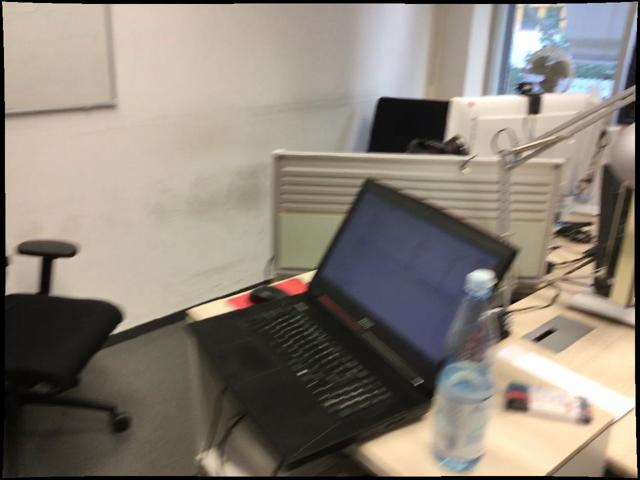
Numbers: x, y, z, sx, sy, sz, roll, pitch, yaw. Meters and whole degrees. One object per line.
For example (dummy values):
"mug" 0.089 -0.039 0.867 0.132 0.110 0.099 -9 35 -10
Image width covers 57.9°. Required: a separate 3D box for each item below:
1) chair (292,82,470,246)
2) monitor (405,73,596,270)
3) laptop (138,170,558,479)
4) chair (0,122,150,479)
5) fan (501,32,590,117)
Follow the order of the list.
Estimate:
"chair" 0.340 -0.460 3.140 0.670 0.651 0.770 13 25 27
"monitor" 0.599 -0.260 1.910 0.620 0.500 0.280 -20 29 -41
"laptop" 0.020 0.110 1.090 0.530 0.300 0.550 -13 26 -31
"chair" -0.979 0.180 1.860 0.619 1.001 0.620 0 22 -2
"fan" 1.249 -0.931 3.220 0.290 0.410 0.310 -20 29 -41
